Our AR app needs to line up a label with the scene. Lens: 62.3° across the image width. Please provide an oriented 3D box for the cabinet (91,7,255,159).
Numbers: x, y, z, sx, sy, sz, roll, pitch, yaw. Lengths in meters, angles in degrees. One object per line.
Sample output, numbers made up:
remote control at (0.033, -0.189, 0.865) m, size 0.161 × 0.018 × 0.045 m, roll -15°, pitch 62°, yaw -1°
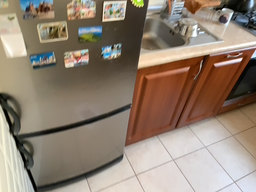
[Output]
cabinet at (0.270, -0.140, 1.690) m, size 0.960 × 0.860 × 0.610 m, roll -13°, pitch 47°, yaw -24°
